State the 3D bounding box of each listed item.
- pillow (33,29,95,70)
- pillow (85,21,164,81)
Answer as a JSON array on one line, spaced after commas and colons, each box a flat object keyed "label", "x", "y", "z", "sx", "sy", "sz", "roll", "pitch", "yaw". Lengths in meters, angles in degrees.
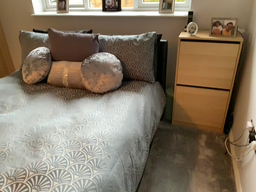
[{"label": "pillow", "x": -0.540, "y": -0.390, "z": 1.810, "sx": 0.460, "sy": 0.310, "sz": 0.130, "roll": 3, "pitch": 29, "yaw": 21}, {"label": "pillow", "x": -0.020, "y": -0.380, "z": 1.830, "sx": 0.550, "sy": 0.340, "sz": 0.260, "roll": -9, "pitch": 23, "yaw": 25}]
